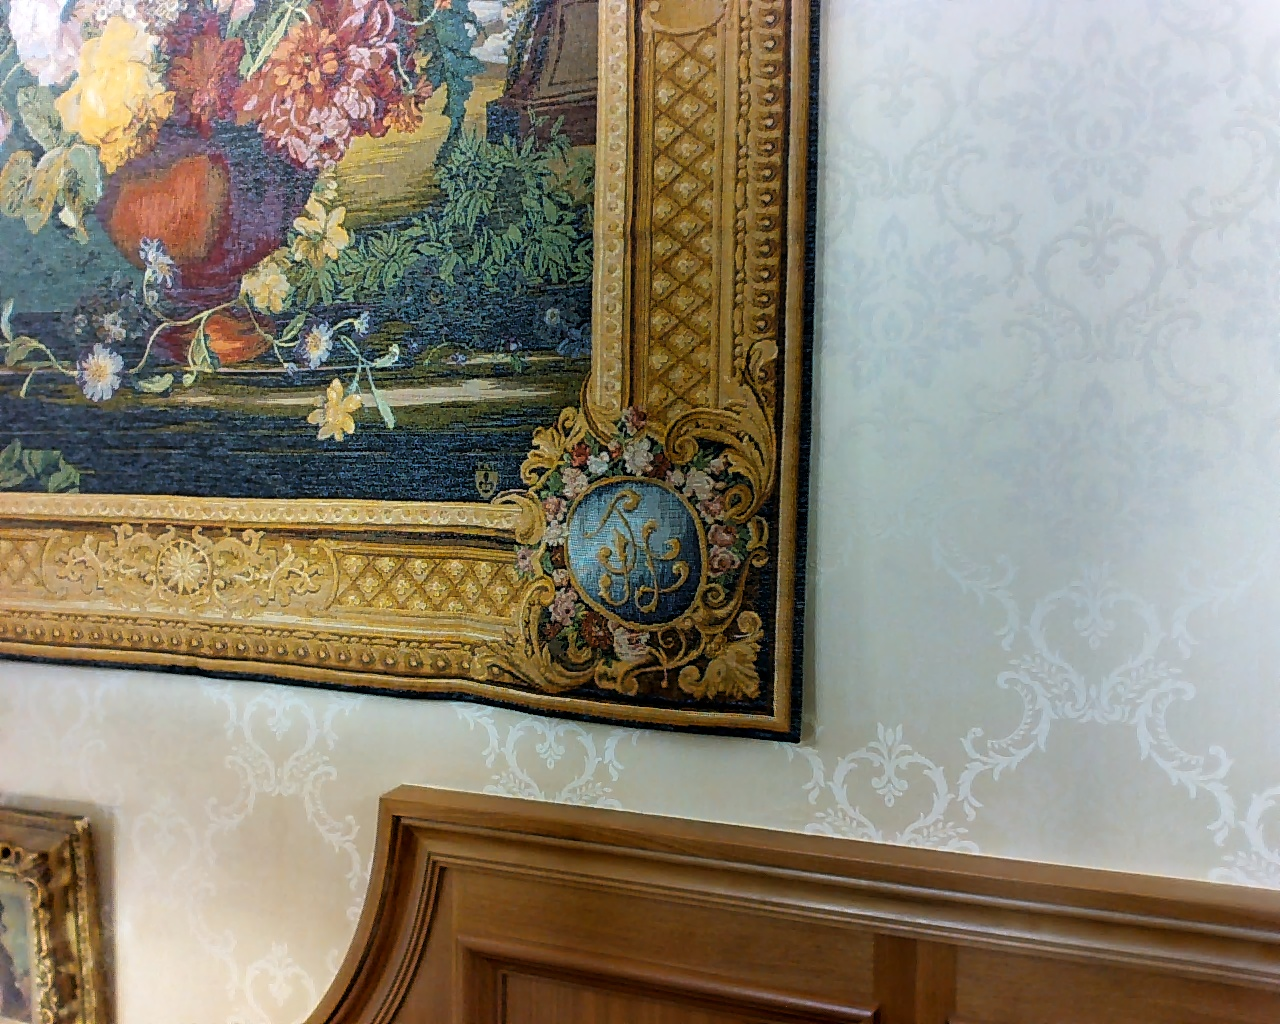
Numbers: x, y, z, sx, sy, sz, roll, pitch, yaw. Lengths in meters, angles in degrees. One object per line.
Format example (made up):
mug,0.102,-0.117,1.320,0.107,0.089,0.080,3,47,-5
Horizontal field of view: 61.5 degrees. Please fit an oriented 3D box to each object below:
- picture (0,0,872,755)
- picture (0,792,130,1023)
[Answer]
picture,-0.510,-0.530,1.270,1.540,1.470,0.080,1,1,21
picture,-0.840,0.590,1.380,0.380,0.430,0.100,1,1,21
